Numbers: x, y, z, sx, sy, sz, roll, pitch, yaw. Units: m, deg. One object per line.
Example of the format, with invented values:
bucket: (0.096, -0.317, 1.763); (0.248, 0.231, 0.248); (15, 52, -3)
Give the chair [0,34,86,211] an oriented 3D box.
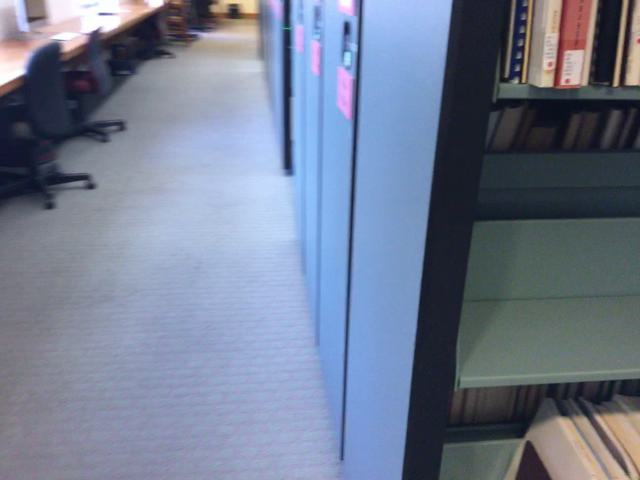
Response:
chair: (-1.770, -0.690, 3.340); (0.580, 0.890, 0.600); (0, 24, -9)
